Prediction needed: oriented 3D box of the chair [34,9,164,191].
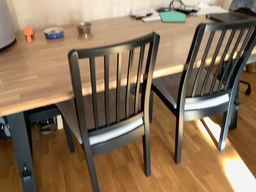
[{"bbox_3d":[-0.150,0.070,1.240,0.410,0.950,0.520,-21,39,-25],"label":"chair"}]
